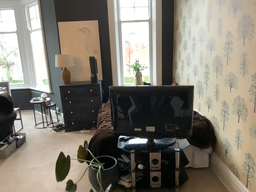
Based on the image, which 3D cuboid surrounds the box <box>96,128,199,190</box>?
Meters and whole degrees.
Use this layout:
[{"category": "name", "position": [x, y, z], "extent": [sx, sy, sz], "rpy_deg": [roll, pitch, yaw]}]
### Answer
[{"category": "box", "position": [0.210, 0.700, 2.430], "extent": [1.060, 0.510, 0.370], "rpy_deg": [-3, 13, -1]}]
